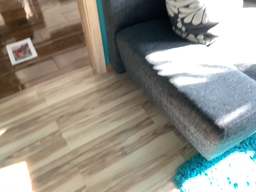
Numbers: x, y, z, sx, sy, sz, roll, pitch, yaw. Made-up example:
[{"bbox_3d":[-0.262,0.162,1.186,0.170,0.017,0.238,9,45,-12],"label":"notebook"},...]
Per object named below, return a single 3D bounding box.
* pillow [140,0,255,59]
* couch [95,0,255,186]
[{"bbox_3d":[0.430,-0.560,1.180,0.700,0.380,0.310,-36,40,-28],"label":"pillow"},{"bbox_3d":[0.920,-0.510,1.370,1.980,0.740,0.980,-25,53,-19],"label":"couch"}]
